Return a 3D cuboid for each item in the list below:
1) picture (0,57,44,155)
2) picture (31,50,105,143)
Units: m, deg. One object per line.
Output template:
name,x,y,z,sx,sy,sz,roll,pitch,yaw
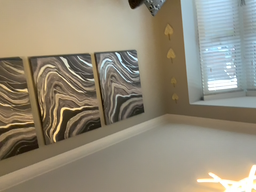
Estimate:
picture,-1.060,0.100,1.640,0.670,0.740,0.050,-14,-169,-39
picture,-0.550,-0.030,2.090,0.620,0.810,0.050,-14,-169,-40
